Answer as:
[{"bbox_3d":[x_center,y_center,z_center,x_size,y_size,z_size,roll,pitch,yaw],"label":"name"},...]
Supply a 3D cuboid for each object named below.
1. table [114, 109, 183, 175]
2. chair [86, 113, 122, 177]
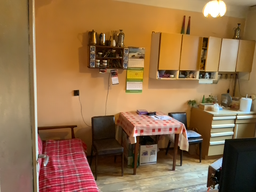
[{"bbox_3d":[0.290,0.690,3.530,0.820,0.770,0.810,0,10,-20],"label":"table"},{"bbox_3d":[-0.390,0.700,3.220,0.400,0.770,0.540,0,10,-20],"label":"chair"}]
